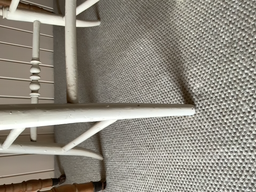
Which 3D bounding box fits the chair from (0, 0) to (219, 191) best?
[{"bbox_3d":[-0.320,-0.080,0.340,0.470,0.820,0.420,-15,75,51],"label":"chair"}]
